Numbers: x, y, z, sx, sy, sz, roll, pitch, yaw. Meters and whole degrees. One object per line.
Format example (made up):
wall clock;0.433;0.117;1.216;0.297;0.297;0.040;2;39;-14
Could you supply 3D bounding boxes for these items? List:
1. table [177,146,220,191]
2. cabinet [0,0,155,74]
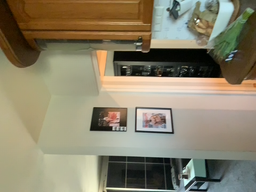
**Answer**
table;1.460;1.620;4.610;1.220;0.490;0.680;90;-178;-59
cabinet;-0.340;-0.710;1.350;1.260;1.010;0.330;90;-178;-52
